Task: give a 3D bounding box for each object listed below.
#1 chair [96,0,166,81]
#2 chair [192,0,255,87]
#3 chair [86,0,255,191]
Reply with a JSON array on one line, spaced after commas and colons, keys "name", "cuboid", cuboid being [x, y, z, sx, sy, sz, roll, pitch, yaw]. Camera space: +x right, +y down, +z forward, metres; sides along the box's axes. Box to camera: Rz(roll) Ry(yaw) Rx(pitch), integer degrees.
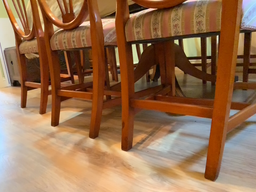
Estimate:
[{"name": "chair", "cuboid": [0.050, -0.690, 2.330, 0.480, 0.940, 0.510, 8, 19, 42]}, {"name": "chair", "cuboid": [0.880, -0.590, 1.670, 0.520, 0.920, 0.570, 8, 19, 42]}, {"name": "chair", "cuboid": [0.240, -0.320, 0.750, 0.530, 0.970, 0.550, 7, 19, 42]}]
